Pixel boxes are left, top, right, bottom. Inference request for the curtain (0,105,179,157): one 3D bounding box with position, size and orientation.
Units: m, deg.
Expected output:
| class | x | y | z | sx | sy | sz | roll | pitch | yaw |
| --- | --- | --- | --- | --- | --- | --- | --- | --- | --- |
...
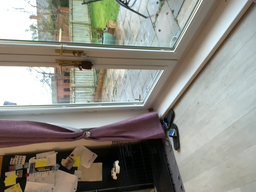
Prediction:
| class | x | y | z | sx | sy | sz | roll | pitch | yaw |
| --- | --- | --- | --- | --- | --- | --- | --- | --- | --- |
| curtain | -0.620 | 0.360 | 2.150 | 0.530 | 2.220 | 0.320 | 125 | 140 | -62 |
